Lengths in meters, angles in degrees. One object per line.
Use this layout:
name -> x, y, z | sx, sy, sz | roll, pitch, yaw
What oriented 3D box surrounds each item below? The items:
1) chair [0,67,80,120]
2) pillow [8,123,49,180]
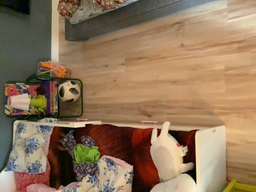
chair -> -0.800, 0.000, 1.970 | 0.410, 0.550, 0.410 | -3, 86, 36
pillow -> -0.850, 0.450, 1.800 | 0.370, 0.150, 0.420 | -6, 84, 36
